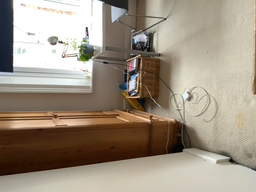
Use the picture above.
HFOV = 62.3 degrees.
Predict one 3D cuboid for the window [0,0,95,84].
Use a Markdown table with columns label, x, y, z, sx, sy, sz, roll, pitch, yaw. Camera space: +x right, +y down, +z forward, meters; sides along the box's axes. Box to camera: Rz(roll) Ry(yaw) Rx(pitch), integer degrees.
| label | x | y | z | sx | sy | sz | roll | pitch | yaw |
| --- | --- | --- | --- | --- | --- | --- | --- | --- | --- |
| window | -1.560 | -0.820 | 2.370 | 0.230 | 2.390 | 1.310 | -177 | 87 | -64 |

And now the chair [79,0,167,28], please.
| label | x | y | z | sx | sy | sz | roll | pitch | yaw |
| --- | --- | --- | --- | --- | --- | --- | --- | --- | --- |
| chair | -0.070 | -1.120 | 2.390 | 0.530 | 0.850 | 0.420 | 177 | 92 | -64 |
